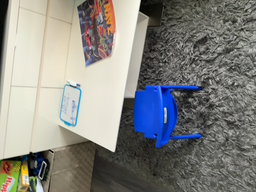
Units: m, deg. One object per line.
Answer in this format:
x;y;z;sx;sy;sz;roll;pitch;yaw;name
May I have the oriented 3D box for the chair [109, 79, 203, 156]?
0.170;0.100;1.210;0.360;0.420;0.340;-3;88;37;chair
